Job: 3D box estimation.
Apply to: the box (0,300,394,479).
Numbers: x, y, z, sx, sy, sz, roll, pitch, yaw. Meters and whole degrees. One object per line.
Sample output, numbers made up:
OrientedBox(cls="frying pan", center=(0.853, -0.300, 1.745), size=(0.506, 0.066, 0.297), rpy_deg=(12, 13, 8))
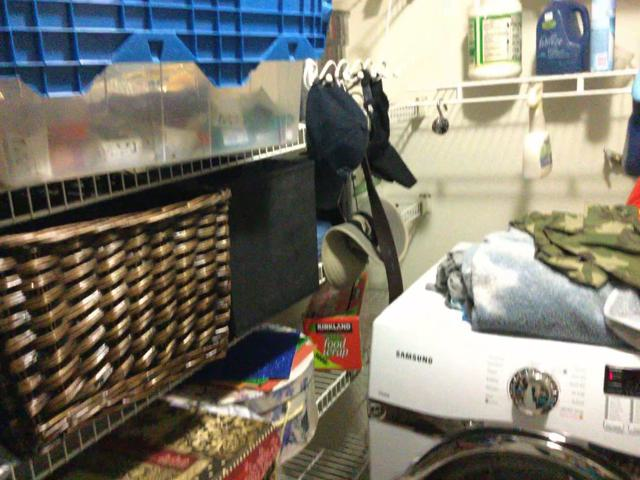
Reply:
OrientedBox(cls="box", center=(-0.220, 0.390, 1.140), size=(0.430, 0.230, 0.830), rpy_deg=(3, 16, 30))

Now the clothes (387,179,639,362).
OrientedBox(cls="clothes", center=(0.500, 0.030, 1.150), size=(0.610, 0.240, 0.390), rpy_deg=(3, 16, 30))
